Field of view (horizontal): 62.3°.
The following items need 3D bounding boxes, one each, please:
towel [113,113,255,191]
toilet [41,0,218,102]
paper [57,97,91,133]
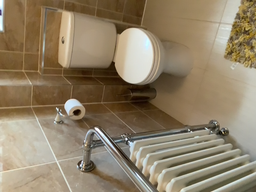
[{"bbox_3d":[0.380,0.290,0.950,0.560,0.700,0.120,38,122,47],"label":"towel"},{"bbox_3d":[-0.010,-0.320,1.490,0.690,0.960,0.430,36,121,48],"label":"toilet"},{"bbox_3d":[-0.330,0.110,1.290,0.130,0.150,0.160,35,119,48],"label":"paper"}]
